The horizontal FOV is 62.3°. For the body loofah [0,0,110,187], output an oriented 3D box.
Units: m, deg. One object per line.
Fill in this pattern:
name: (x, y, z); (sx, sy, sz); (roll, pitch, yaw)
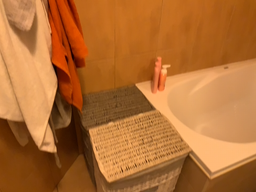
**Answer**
body loofah: (-0.310, -0.270, 0.790); (0.300, 1.280, 0.450); (15, 37, 17)

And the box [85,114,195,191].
box: (0.040, 0.470, 1.200); (0.440, 0.560, 0.320); (-15, 39, -23)
